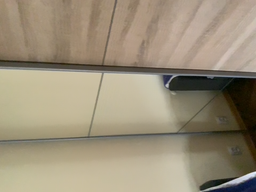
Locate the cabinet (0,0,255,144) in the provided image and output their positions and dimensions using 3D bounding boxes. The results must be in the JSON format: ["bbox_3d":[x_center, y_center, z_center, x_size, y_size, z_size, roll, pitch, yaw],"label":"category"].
[{"bbox_3d":[0.180,-0.370,1.250,1.540,2.180,0.700,114,152,-54],"label":"cabinet"}]
